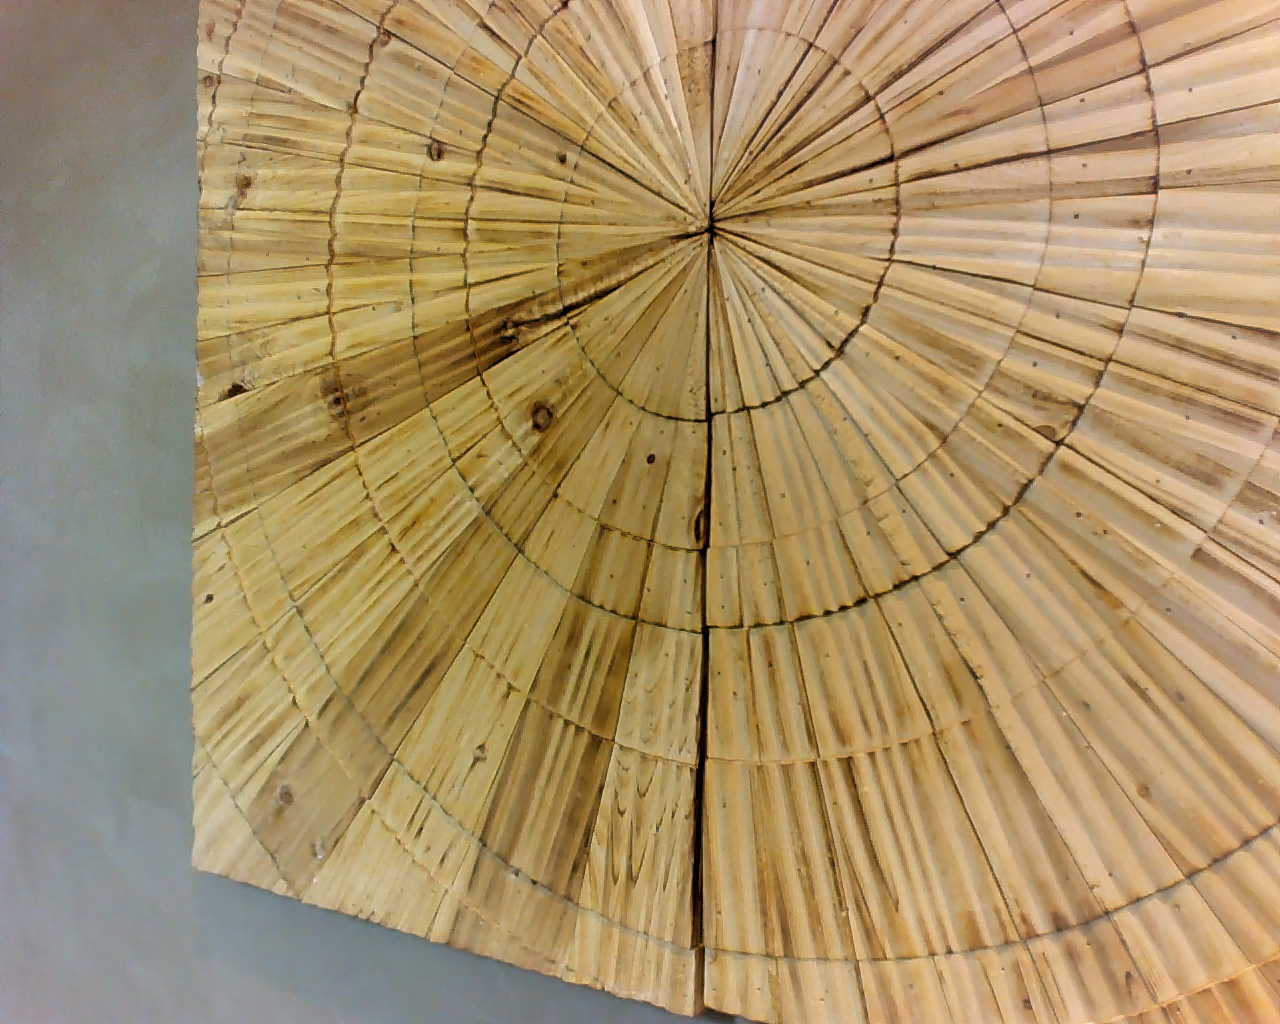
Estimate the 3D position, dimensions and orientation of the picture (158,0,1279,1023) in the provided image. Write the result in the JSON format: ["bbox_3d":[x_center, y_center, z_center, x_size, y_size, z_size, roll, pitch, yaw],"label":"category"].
[{"bbox_3d":[0.050,-0.190,0.640,0.960,0.960,0.060,1,0,30],"label":"picture"}]
